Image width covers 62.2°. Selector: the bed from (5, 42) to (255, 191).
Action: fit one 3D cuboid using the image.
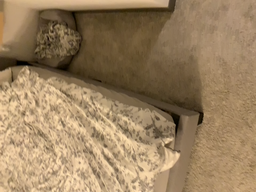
[{"bbox_3d":[-0.390,0.680,1.960,2.200,0.570,2.070,18,104,40],"label":"bed"}]
